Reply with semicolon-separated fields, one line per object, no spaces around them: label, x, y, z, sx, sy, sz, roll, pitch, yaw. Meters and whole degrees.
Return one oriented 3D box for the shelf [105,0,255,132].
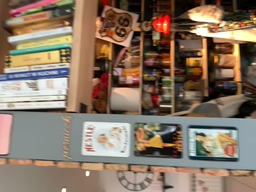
shelf;0.850;-0.420;1.840;0.320;1.990;1.420;71;-159;-80
